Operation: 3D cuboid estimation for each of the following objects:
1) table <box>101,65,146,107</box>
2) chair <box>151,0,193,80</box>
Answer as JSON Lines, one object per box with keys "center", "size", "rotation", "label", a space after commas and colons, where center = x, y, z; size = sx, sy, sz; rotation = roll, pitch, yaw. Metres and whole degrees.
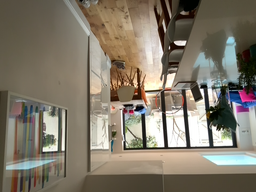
{"center": [-0.050, -0.180, 5.850], "size": [0.920, 0.760, 1.830], "rotation": [-3, 171, 8], "label": "table"}
{"center": [0.480, -0.680, 2.440], "size": [0.380, 0.890, 0.400], "rotation": [-3, 171, 6], "label": "chair"}
